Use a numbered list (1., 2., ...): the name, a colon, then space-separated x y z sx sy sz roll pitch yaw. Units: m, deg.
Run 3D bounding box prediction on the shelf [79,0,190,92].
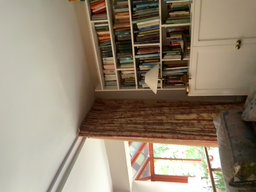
1. shelf: 0.110 -0.660 2.600 0.280 1.170 1.230 -75 -18 -58
